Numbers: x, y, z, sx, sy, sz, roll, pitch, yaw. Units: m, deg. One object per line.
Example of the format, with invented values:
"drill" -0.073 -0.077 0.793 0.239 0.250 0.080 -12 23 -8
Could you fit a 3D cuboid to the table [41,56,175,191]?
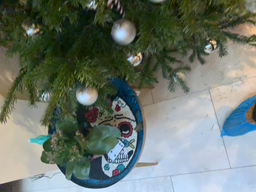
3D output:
"table" -0.100 0.160 1.100 0.500 0.360 0.510 -16 77 23
